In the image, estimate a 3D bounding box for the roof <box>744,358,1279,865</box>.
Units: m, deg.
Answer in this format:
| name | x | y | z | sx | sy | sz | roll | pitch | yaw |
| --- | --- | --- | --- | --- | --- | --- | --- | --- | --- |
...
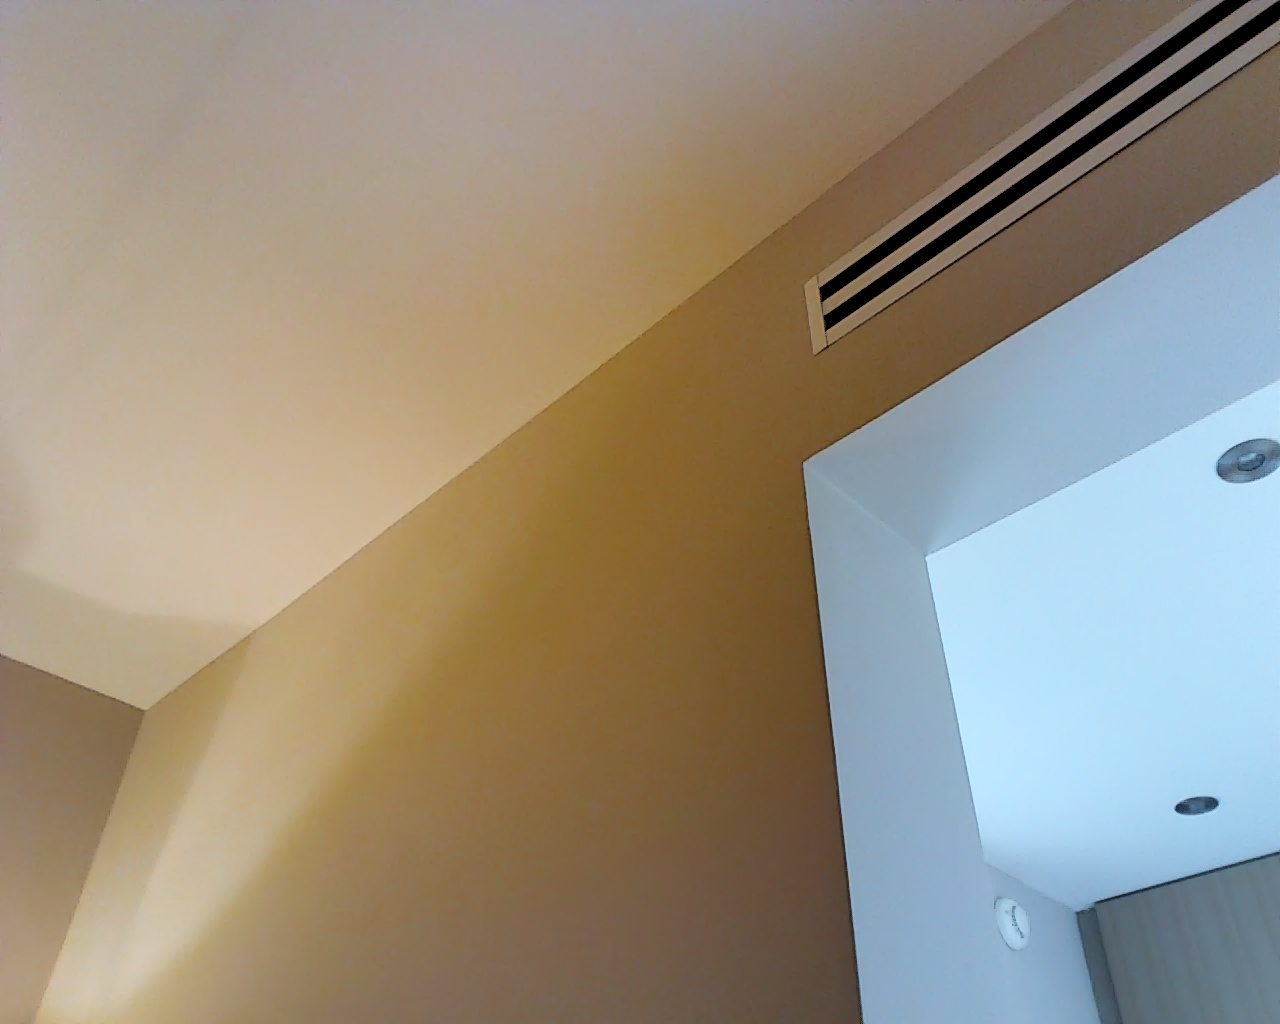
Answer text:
| name | x | y | z | sx | sy | sz | roll | pitch | yaw |
| --- | --- | --- | --- | --- | --- | --- | --- | --- | --- |
| roof | 1.310 | 0.380 | 2.360 | 2.030 | 0.030 | 1.830 | 1 | -41 | 1 |
